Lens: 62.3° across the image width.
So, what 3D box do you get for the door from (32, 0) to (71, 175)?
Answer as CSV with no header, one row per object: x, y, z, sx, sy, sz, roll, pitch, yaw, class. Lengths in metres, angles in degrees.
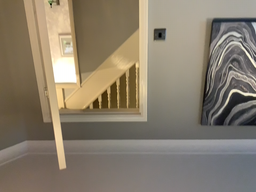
-0.490,-0.670,1.100,0.040,2.000,0.820,-9,-159,-23,door
